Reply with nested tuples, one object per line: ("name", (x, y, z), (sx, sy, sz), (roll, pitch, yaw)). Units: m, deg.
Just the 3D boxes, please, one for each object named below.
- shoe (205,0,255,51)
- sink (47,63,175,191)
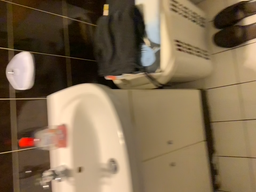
("shoe", (0.590, -0.410, 1.180), (0.270, 0.050, 0.240), (-13, 82, 44))
("sink", (-0.080, 0.270, 0.820), (0.430, 0.230, 0.680), (-12, 82, 44))
